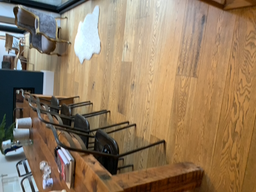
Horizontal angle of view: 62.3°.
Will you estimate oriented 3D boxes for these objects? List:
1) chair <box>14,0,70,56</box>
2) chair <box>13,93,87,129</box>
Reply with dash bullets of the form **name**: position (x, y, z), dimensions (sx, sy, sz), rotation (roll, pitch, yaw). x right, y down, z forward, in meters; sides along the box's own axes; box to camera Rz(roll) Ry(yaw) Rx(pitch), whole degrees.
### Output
- **chair**: position (-1.640, -1.240, 4.010), dimensions (0.770, 0.830, 0.660), rotation (-14, 78, 55)
- **chair**: position (-1.160, 0.190, 3.170), dimensions (0.480, 0.930, 0.420), rotation (11, 99, 55)
